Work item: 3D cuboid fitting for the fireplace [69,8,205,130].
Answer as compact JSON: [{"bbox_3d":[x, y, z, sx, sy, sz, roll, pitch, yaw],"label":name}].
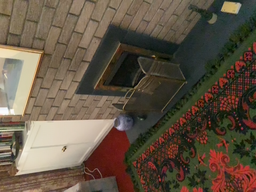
[{"bbox_3d":[0.030,-0.170,1.820,0.730,0.750,0.560,-54,48,35],"label":"fireplace"}]
